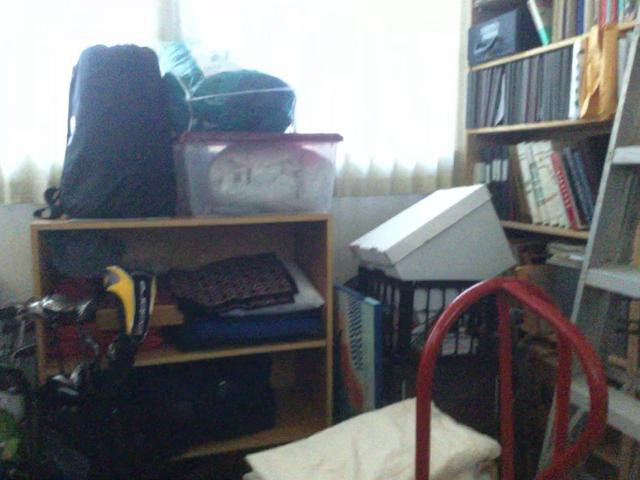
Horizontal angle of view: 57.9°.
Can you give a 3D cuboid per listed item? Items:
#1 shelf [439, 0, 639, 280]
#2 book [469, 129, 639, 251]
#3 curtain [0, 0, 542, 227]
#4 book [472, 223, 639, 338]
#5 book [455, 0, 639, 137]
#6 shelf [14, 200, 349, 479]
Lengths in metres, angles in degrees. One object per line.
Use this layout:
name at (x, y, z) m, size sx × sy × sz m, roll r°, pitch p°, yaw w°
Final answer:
shelf at (0.840, -0.650, 2.000) m, size 0.350 × 1.400 × 1.000 m, roll -3°, pitch 7°, yaw -19°
book at (0.860, -0.190, 2.080) m, size 0.290 × 0.360 × 0.680 m, roll -3°, pitch 7°, yaw -19°
curtain at (-0.480, -0.930, 1.980) m, size 2.780 × 1.700 × 0.330 m, roll -3°, pitch 7°, yaw -20°
book at (0.860, 0.120, 2.140) m, size 0.300 × 0.310 × 0.570 m, roll -3°, pitch 7°, yaw -19°
book at (0.770, -0.620, 1.990) m, size 0.180 × 0.480 × 0.810 m, roll -3°, pitch 7°, yaw -19°
shelf at (-0.430, 0.440, 1.950) m, size 0.940 × 1.100 × 0.480 m, roll -3°, pitch 7°, yaw -20°
